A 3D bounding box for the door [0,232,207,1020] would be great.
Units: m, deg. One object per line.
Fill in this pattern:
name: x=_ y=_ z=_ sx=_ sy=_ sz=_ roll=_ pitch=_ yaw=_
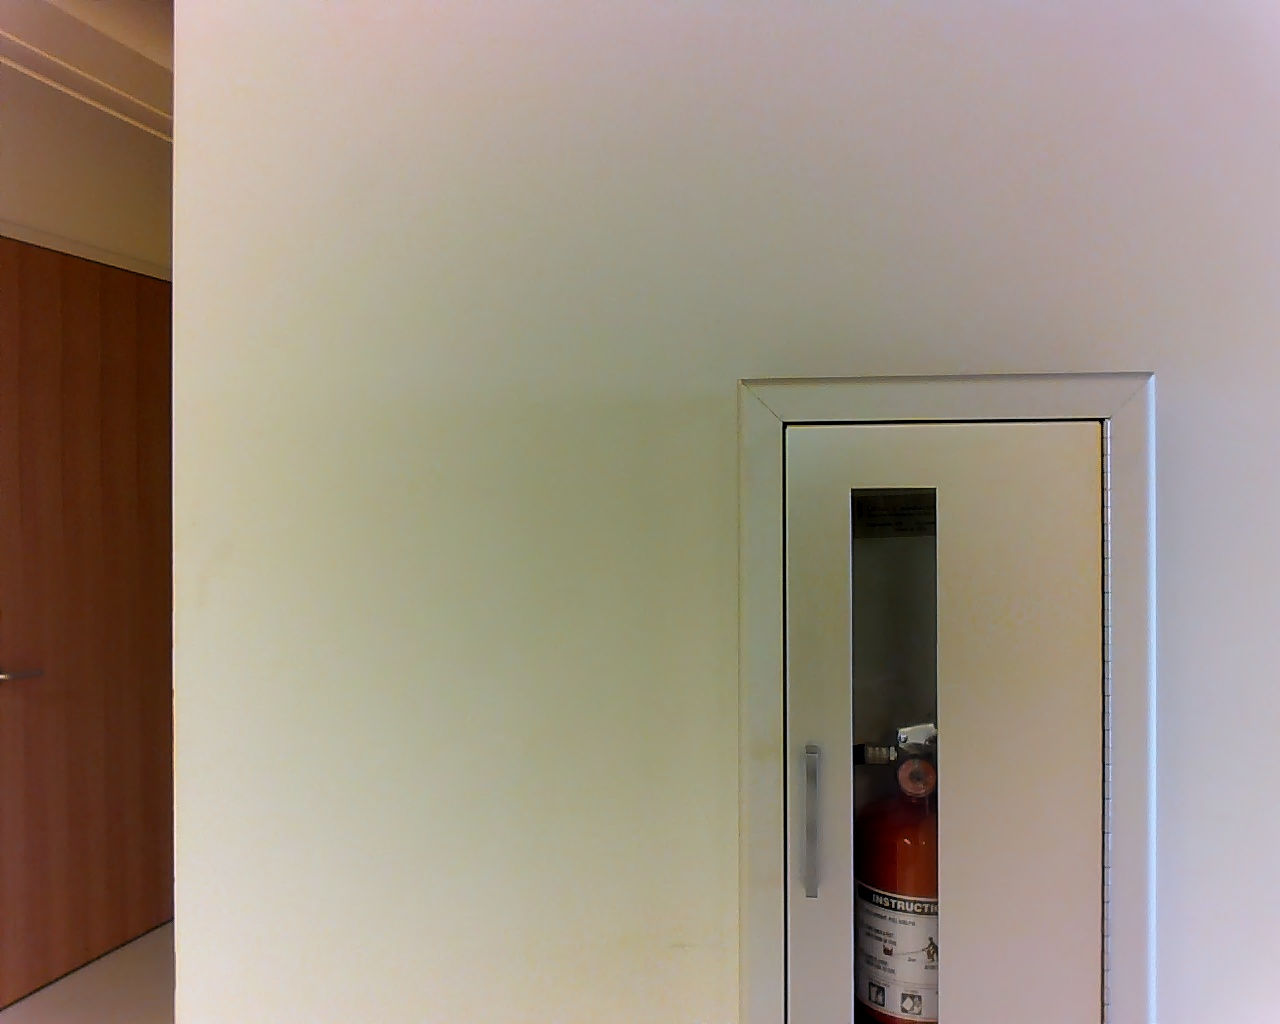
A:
door: x=-1.720 y=0.320 z=3.390 sx=0.050 sy=2.220 sz=0.980 roll=0 pitch=0 yaw=17
